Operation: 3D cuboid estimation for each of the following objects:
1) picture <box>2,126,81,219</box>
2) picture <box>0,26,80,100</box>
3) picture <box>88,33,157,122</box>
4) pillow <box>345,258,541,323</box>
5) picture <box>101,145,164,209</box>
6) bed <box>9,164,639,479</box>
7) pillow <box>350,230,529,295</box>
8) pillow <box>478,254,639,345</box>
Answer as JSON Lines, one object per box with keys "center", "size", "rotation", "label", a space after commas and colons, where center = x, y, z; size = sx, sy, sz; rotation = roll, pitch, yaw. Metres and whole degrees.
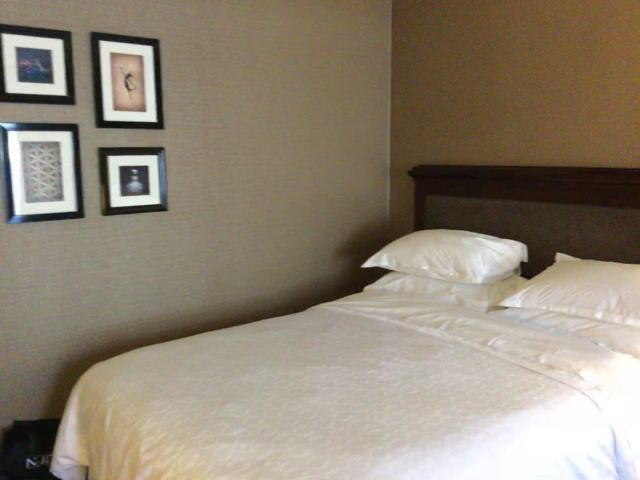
{"center": [-1.150, -0.280, 2.400], "size": [0.270, 0.370, 0.030], "rotation": [-7, 8, -38], "label": "picture"}
{"center": [-1.140, -0.710, 2.340], "size": [0.290, 0.260, 0.040], "rotation": [-7, 8, -38], "label": "picture"}
{"center": [-0.870, -0.710, 2.560], "size": [0.270, 0.360, 0.040], "rotation": [-7, 8, -38], "label": "picture"}
{"center": [0.600, 0.230, 2.940], "size": [0.540, 0.150, 0.820], "rotation": [-7, 8, -38], "label": "pillow"}
{"center": [-0.850, -0.290, 2.630], "size": [0.260, 0.280, 0.030], "rotation": [-7, 8, -38], "label": "picture"}
{"center": [0.240, 0.470, 2.240], "size": [2.160, 1.440, 1.770], "rotation": [-7, 8, -38], "label": "bed"}
{"center": [0.590, 0.090, 2.970], "size": [0.470, 0.210, 0.780], "rotation": [-7, 8, -38], "label": "pillow"}
{"center": [1.150, 0.220, 2.330], "size": [0.500, 0.210, 0.860], "rotation": [-7, 8, -38], "label": "pillow"}
